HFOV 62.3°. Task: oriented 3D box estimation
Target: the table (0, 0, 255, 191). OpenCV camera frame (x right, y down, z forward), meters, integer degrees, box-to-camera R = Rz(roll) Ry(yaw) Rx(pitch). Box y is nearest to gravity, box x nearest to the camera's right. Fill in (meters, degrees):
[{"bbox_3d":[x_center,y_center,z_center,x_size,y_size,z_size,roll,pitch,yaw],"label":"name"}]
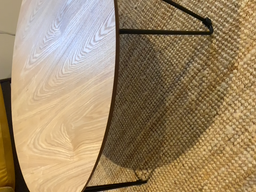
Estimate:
[{"bbox_3d":[-0.160,-0.080,0.760,0.800,0.360,0.810,56,128,34],"label":"table"}]
